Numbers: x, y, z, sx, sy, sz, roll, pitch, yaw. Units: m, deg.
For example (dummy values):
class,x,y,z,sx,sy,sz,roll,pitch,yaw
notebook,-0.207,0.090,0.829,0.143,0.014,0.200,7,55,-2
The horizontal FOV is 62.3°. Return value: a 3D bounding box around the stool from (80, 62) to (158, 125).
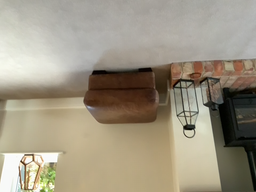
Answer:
class,x,y,z,sx,sy,sz,roll,pitch,yaw
stool,-0.060,0.010,2.070,0.630,0.390,0.630,-2,159,2
